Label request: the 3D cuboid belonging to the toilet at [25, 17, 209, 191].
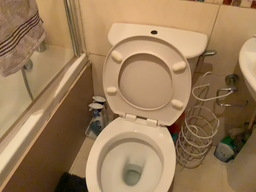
[{"bbox_3d":[0.040,0.190,0.970,0.420,0.780,0.670,12,46,10],"label":"toilet"}]
